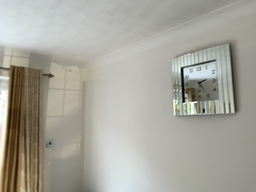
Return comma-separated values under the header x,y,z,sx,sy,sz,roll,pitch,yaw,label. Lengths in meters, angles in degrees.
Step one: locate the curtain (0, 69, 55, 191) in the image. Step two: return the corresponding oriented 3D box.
x,y,z,sx,sy,sz,roll,pitch,yaw,label
-1.120,0.840,2.350,0.460,2.210,0.220,6,-10,-41,curtain
